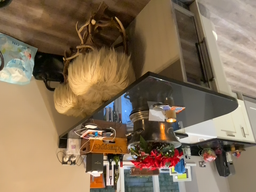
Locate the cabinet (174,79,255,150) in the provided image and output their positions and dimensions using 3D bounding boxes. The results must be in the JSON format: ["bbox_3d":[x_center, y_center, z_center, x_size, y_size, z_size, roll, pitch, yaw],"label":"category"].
[{"bbox_3d":[1.360,0.350,3.400,0.960,0.900,0.610,11,153,-32],"label":"cabinet"}]

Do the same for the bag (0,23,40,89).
[{"bbox_3d":[-1.160,-0.380,2.090,0.430,0.450,0.370,11,153,-32],"label":"bag"}]

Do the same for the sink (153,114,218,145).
[{"bbox_3d":[0.750,0.470,2.830,0.610,0.230,0.540,11,153,-32],"label":"sink"}]

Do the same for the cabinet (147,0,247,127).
[{"bbox_3d":[0.540,-0.250,1.890,0.330,0.880,0.640,11,153,-32],"label":"cabinet"}]
